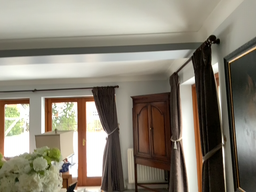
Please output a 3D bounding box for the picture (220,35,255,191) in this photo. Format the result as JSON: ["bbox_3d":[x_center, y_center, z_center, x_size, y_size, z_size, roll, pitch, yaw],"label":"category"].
[{"bbox_3d":[0.740,0.170,1.190,0.050,0.990,0.910,-3,-4,4],"label":"picture"}]

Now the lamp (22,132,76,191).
[{"bbox_3d":[-0.780,0.670,2.160,0.340,0.550,0.490,-2,-4,3],"label":"lamp"}]
